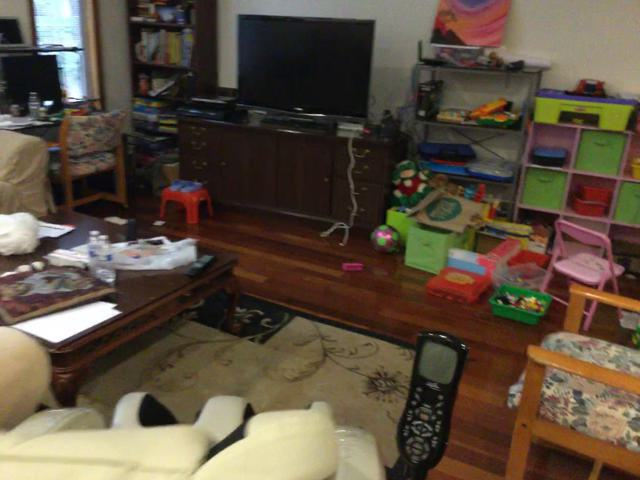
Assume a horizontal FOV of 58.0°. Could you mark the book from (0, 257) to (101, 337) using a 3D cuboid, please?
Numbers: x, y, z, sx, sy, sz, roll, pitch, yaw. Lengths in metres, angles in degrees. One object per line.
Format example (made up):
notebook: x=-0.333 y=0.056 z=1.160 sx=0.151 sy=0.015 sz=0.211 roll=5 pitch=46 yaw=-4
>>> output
book: x=-1.080 y=0.200 z=2.120 sx=0.350 sy=0.070 sz=0.400 roll=23 pitch=29 yaw=38

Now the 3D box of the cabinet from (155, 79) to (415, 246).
cabinet: x=-0.300 y=-0.640 z=4.320 sx=1.800 sy=0.850 sz=0.600 roll=14 pitch=24 yaw=22

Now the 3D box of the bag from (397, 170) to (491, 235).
bag: x=0.790 y=-0.250 z=3.670 sx=0.480 sy=0.240 sz=0.380 roll=14 pitch=24 yaw=22
